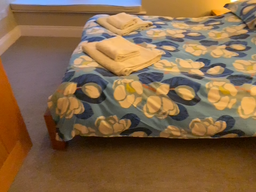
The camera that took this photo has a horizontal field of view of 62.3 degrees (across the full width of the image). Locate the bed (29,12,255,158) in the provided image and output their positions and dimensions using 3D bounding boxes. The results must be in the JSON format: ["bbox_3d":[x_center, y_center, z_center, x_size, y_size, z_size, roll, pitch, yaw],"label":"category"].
[{"bbox_3d":[0.550,-0.270,1.980,2.200,0.520,1.640,0,37,-1],"label":"bed"}]
